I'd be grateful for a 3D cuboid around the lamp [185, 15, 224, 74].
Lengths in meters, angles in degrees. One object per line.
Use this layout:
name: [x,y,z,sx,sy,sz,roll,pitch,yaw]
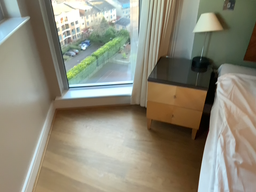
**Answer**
lamp: [0.670,-0.450,1.870,0.230,0.440,0.200,13,37,19]
